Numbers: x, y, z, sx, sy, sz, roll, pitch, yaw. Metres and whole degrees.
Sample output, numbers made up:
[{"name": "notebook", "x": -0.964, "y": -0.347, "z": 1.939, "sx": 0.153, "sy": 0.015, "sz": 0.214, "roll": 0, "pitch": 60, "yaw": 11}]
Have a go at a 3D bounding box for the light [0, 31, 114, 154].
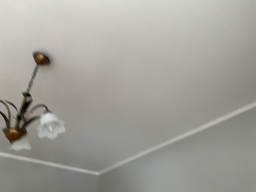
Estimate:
[{"name": "light", "x": -0.470, "y": 0.030, "z": 1.380, "sx": 0.690, "sy": 0.460, "sz": 0.520, "roll": 164, "pitch": -61, "yaw": -66}]
